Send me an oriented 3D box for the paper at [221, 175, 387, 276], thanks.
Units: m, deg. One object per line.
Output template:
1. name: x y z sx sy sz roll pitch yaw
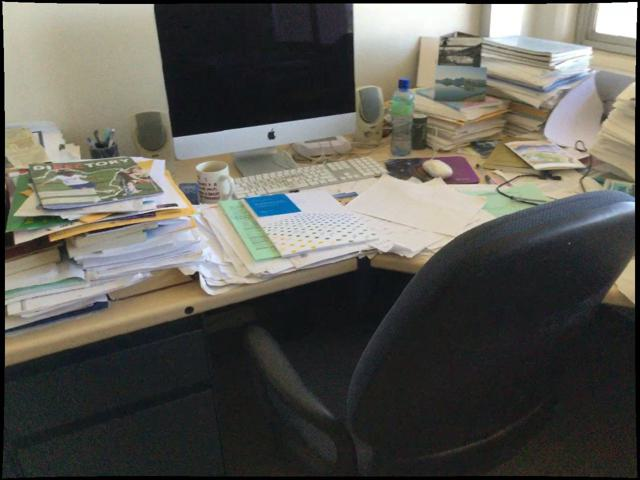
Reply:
1. paper: -0.050 -0.050 1.360 0.260 0.040 0.360 -15 31 -23

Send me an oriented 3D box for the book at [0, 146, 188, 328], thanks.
1. book: -0.539 -0.020 1.150 0.439 0.160 0.360 -15 31 -23

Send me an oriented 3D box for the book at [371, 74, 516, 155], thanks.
1. book: 0.389 -0.421 1.880 0.289 0.130 0.370 -15 31 -23

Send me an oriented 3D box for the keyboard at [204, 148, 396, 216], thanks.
1. keyboard: -0.050 -0.170 1.590 0.499 0.030 0.180 -15 31 -23
